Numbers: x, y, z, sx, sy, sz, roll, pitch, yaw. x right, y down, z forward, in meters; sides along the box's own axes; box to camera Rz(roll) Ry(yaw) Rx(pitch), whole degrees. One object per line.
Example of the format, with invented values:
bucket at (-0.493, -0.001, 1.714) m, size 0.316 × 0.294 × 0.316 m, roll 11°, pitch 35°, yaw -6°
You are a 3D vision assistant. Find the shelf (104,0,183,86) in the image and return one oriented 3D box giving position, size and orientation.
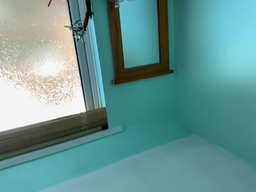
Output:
shelf at (0.100, -0.390, 1.240) m, size 0.400 × 0.570 × 0.170 m, roll -13°, pitch -162°, yaw -23°
